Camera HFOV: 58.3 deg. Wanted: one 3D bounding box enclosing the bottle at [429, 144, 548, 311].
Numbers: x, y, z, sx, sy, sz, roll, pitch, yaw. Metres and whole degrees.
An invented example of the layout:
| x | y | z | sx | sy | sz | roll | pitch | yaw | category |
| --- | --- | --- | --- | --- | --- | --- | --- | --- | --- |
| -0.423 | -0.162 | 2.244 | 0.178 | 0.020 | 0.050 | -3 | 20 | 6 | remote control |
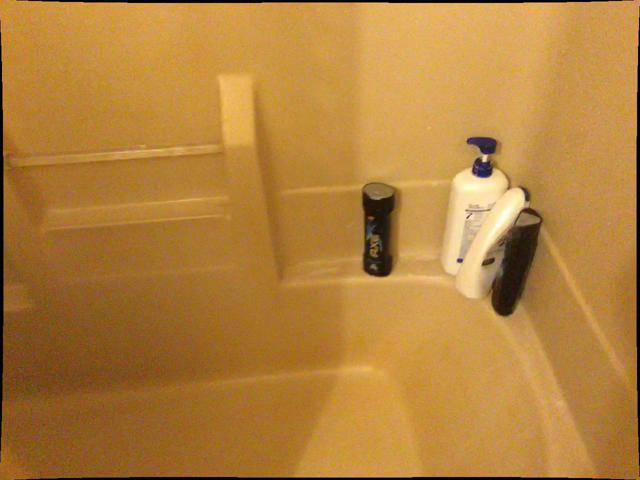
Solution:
| x | y | z | sx | sy | sz | roll | pitch | yaw | category |
| --- | --- | --- | --- | --- | --- | --- | --- | --- | --- |
| 0.310 | -0.020 | 1.110 | 0.140 | 0.260 | 0.180 | -4 | 45 | -1 | bottle |
